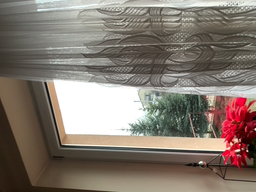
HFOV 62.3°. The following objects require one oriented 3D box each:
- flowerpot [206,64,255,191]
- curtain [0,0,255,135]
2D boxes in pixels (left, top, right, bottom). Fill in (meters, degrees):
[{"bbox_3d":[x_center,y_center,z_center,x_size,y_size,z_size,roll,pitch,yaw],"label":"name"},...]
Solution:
[{"bbox_3d":[0.700,0.180,1.210,0.460,0.330,0.590,-78,-14,-58],"label":"flowerpot"},{"bbox_3d":[0.560,-0.190,0.730,0.380,2.660,0.530,-79,-14,-56],"label":"curtain"}]
